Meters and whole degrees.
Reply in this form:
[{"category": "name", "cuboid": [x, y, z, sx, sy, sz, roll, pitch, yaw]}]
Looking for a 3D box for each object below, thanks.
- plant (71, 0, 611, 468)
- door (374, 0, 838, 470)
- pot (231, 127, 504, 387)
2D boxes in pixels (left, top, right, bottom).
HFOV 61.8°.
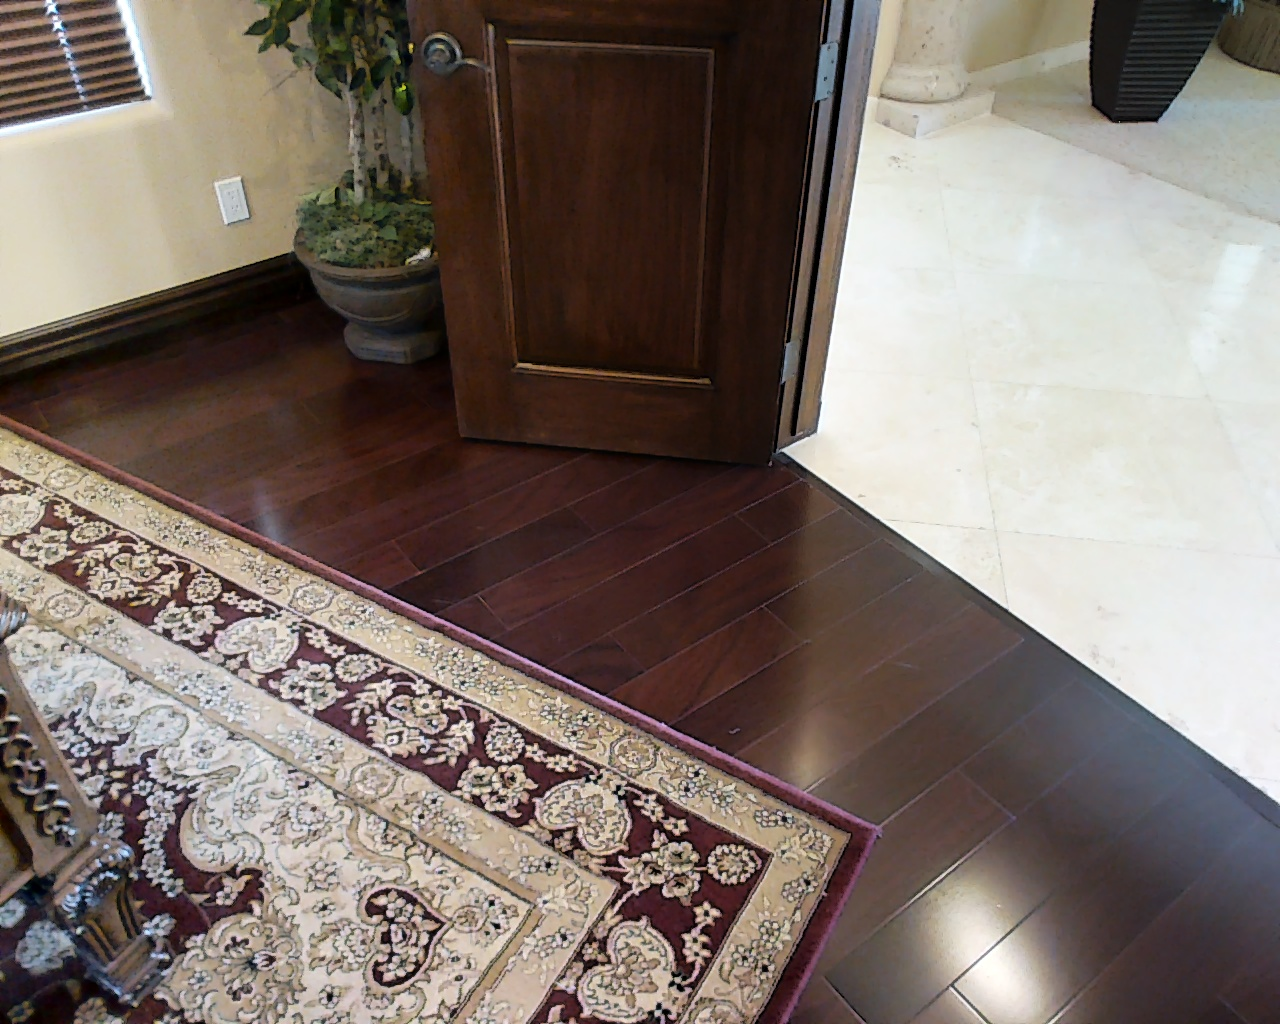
[{"category": "plant", "cuboid": [-0.670, -1.359, 2.190, 0.950, 2.309, 0.780, -24, 47, -26]}, {"category": "door", "cuboid": [-0.060, -1.110, 1.770, 0.830, 2.479, 0.100, 6, 42, 6]}, {"category": "pot", "cuboid": [-0.680, -0.680, 2.820, 0.490, 0.440, 0.490, 9, 42, 8]}]
